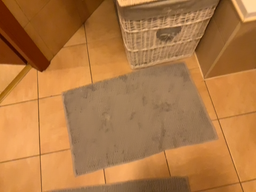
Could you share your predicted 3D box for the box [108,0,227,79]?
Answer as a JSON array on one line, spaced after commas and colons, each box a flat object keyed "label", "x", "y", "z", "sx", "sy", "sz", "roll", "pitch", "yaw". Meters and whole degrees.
[{"label": "box", "x": 0.150, "y": -0.400, "z": 1.090, "sx": 0.440, "sy": 0.560, "sz": 0.320, "roll": -14, "pitch": 69, "yaw": -3}]
